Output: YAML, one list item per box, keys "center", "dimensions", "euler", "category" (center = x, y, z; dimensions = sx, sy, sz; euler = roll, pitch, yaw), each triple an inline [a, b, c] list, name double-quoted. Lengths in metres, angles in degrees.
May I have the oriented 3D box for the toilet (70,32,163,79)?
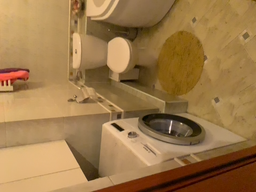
- center: [-0.150, -0.440, 2.290]
  dimensions: [0.650, 0.750, 0.380]
  euler: [28, 116, 55]
  category: "toilet"
